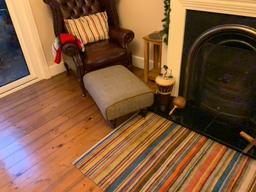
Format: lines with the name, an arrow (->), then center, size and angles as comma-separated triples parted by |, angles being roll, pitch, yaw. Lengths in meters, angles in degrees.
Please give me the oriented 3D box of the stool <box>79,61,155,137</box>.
stool -> -0.130, -0.010, 2.180 | 0.500, 0.370, 0.680 | -19, 37, -22
